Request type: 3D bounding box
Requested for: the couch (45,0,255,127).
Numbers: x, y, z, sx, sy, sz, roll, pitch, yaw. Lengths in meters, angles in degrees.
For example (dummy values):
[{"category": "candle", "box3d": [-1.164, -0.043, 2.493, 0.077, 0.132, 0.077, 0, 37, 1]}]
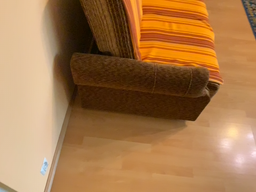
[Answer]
[{"category": "couch", "box3d": [0.230, -0.990, 1.800, 1.010, 0.940, 2.180, 7, 56, -2]}]
